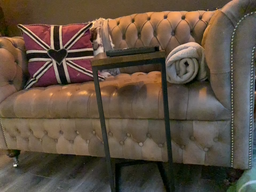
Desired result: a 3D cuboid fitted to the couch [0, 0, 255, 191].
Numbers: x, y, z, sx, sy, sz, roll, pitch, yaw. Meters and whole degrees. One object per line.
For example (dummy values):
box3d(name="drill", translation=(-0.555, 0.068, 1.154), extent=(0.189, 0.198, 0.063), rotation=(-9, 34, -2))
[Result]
box3d(name="couch", translation=(-0.060, -0.090, 1.390), extent=(1.610, 0.870, 0.900), rotation=(-1, 16, 20))

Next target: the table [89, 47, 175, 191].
box3d(name="table", translation=(0.020, 0.120, 0.990), extent=(0.260, 0.650, 0.420), rotation=(-7, 15, -2))
